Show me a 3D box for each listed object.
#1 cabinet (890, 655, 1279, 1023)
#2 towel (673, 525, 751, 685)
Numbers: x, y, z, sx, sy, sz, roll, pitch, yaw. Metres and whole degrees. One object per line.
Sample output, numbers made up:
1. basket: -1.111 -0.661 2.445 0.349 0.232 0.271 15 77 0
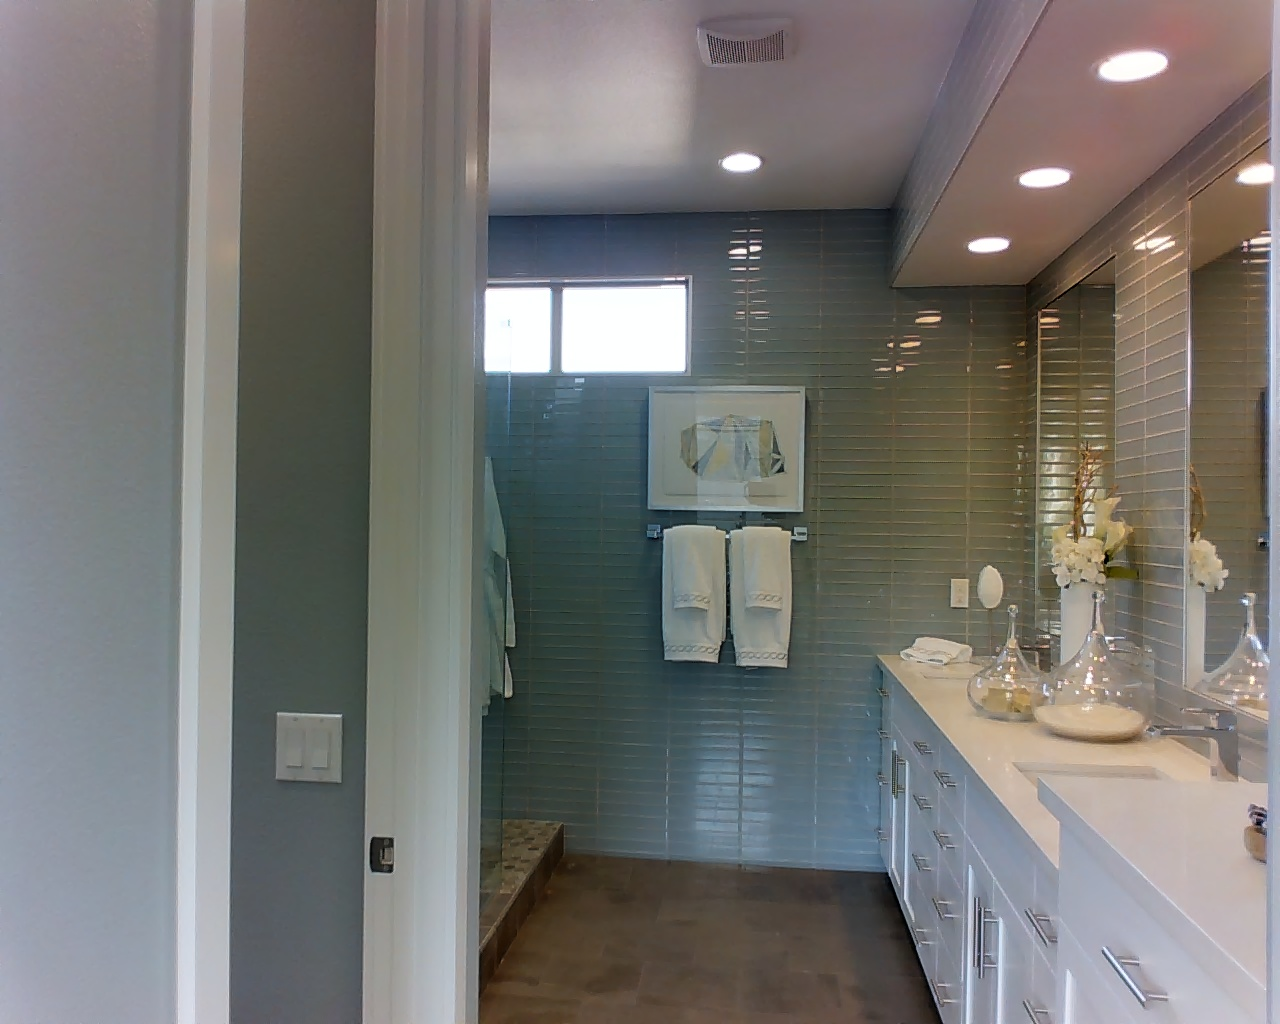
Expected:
1. cabinet: 1.090 0.670 2.550 0.600 0.150 3.660 1 0 7
2. towel: 0.300 0.370 4.400 0.300 0.630 0.230 1 0 7
